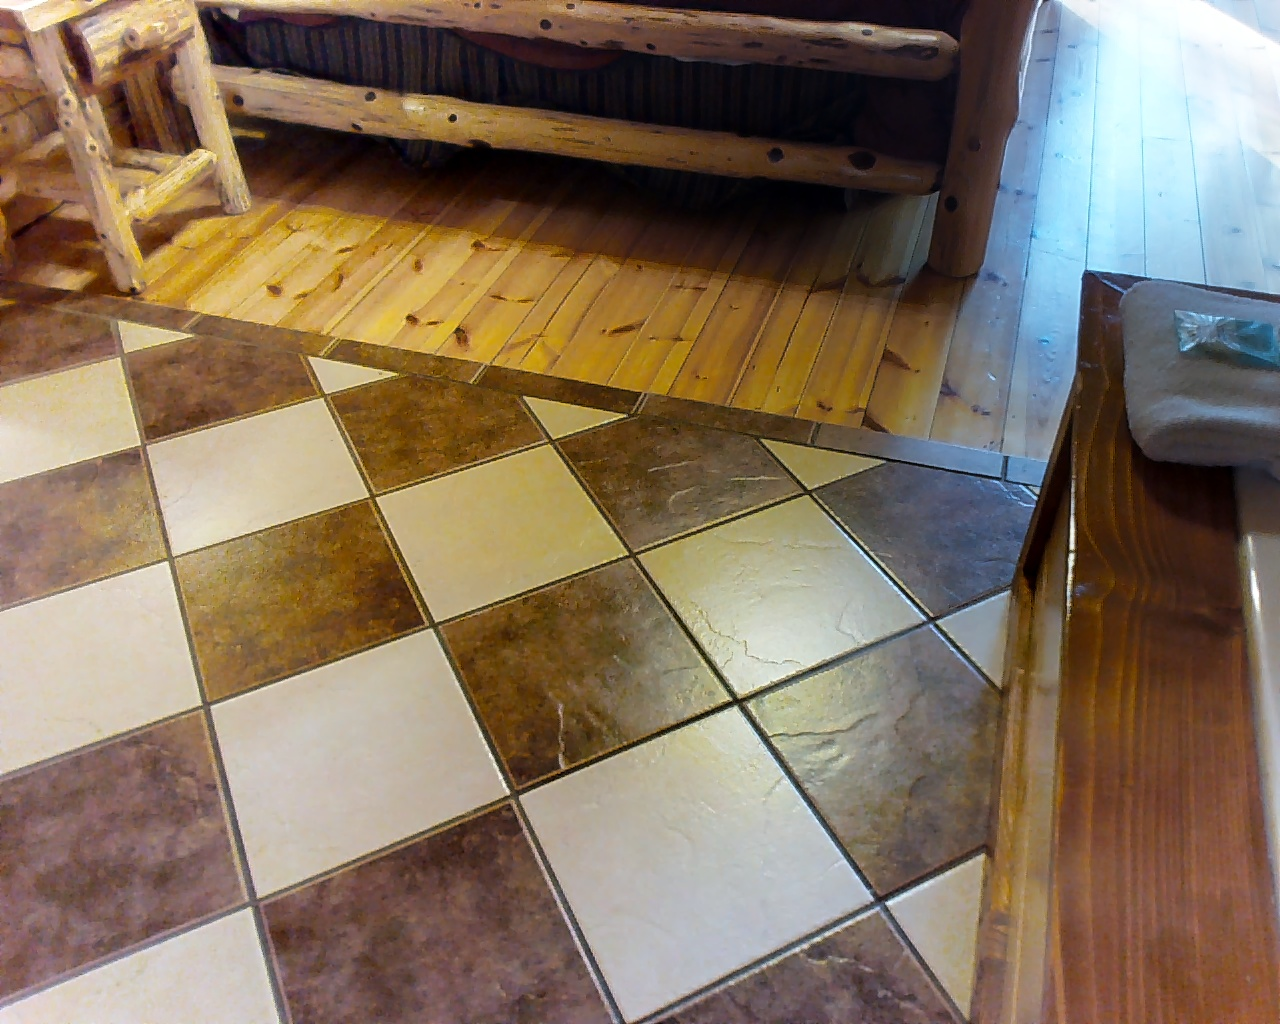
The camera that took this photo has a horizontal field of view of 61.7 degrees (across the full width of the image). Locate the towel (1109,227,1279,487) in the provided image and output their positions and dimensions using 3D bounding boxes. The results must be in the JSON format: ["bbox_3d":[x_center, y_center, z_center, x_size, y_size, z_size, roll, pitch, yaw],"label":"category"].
[{"bbox_3d":[0.680,-0.150,1.070,0.350,0.120,0.270,9,43,11],"label":"towel"}]
